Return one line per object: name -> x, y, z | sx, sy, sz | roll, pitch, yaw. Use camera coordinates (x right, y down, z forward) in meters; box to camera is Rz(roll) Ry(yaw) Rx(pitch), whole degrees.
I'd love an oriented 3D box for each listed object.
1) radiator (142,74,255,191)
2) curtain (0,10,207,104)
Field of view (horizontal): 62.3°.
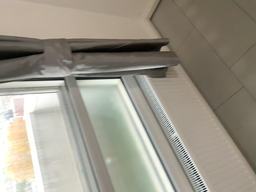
radiator -> 0.530, 0.270, 1.350 | 0.070, 0.510, 1.050 | -58, 48, 43
curtain -> -0.420, -0.210, 1.090 | 0.130, 2.070, 0.470 | -55, 50, 45
